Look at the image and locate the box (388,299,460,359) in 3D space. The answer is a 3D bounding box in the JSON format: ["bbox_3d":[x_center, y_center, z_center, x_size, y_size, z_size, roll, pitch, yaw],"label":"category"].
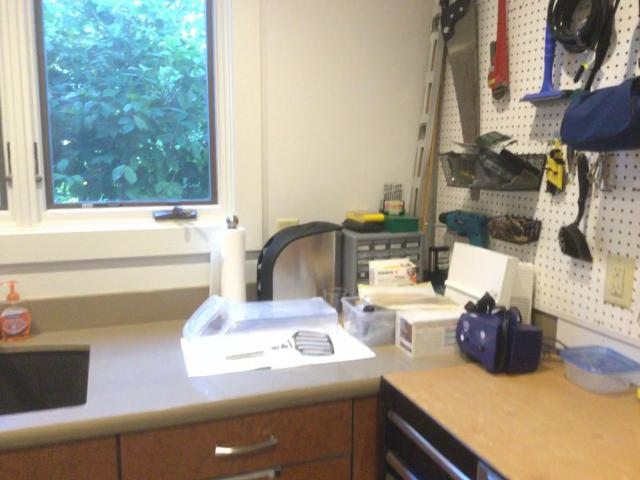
[{"bbox_3d":[0.270,0.230,1.520,0.130,0.110,0.140,-3,9,-21],"label":"box"}]

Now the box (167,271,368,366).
[{"bbox_3d":[-0.170,0.200,1.640,0.460,0.110,0.440,-3,9,-21],"label":"box"}]

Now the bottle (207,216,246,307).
[{"bbox_3d":[-0.280,0.060,1.730,0.090,0.250,0.120,-3,9,-21],"label":"bottle"}]

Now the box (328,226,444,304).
[{"bbox_3d":[0.200,0.070,1.800,0.290,0.190,0.210,-3,9,-21],"label":"box"}]
